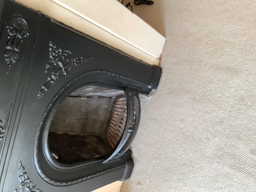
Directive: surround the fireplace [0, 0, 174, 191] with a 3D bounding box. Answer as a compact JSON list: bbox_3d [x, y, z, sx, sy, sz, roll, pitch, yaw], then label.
[{"bbox_3d":[-0.230,0.120,0.920,0.310,0.960,0.870,19,96,31],"label":"fireplace"}]
